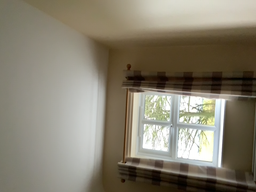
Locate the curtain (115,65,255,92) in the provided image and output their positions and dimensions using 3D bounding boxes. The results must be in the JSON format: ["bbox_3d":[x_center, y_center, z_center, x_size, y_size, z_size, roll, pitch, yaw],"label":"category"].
[{"bbox_3d":[0.580,-0.190,2.230,0.180,1.460,0.230,8,-95,-72],"label":"curtain"}]
